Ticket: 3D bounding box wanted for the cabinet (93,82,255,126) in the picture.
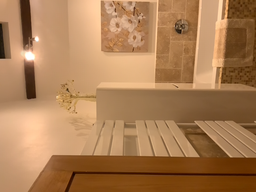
[{"bbox_3d":[0.420,0.060,1.950,0.390,1.410,0.320,-95,6,-80],"label":"cabinet"}]
